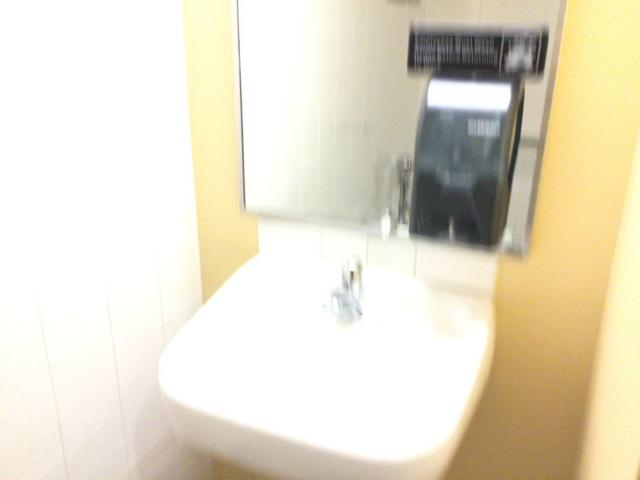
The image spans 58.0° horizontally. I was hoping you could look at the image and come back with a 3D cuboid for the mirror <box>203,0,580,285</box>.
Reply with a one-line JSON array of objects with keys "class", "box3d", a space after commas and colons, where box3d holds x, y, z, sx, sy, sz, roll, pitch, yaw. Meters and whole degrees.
[{"class": "mirror", "box3d": [0.100, -0.320, 1.070, 0.660, 0.700, 0.110, 10, 21, 19]}]
